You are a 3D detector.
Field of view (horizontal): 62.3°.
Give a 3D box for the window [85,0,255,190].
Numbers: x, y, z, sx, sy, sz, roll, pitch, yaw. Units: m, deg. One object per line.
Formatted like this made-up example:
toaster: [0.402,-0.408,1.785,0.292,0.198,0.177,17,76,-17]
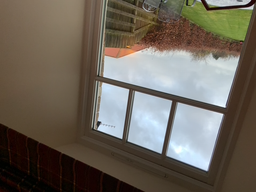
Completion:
window: [0.180,-0.130,1.130,0.830,1.050,0.080,16,-162,23]
